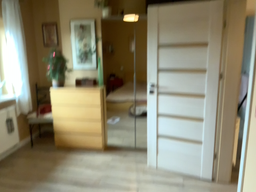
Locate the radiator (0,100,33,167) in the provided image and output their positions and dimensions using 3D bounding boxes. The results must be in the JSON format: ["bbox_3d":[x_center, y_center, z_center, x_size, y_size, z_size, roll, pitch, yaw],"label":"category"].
[{"bbox_3d":[-1.870,0.600,3.020,0.130,0.790,1.270,2,13,13],"label":"radiator"}]

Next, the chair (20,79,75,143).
[{"bbox_3d":[-1.450,0.240,3.960,0.580,1.010,0.720,2,13,12],"label":"chair"}]
